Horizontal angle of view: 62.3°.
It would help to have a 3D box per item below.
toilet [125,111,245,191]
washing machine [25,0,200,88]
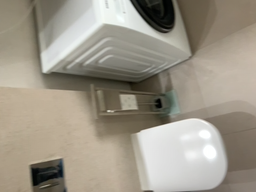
[{"bbox_3d":[0.340,0.330,1.300,0.510,0.430,0.340,-23,74,38],"label":"toilet"},{"bbox_3d":[-0.090,-0.490,1.440,0.680,0.850,0.620,-24,73,38],"label":"washing machine"}]
